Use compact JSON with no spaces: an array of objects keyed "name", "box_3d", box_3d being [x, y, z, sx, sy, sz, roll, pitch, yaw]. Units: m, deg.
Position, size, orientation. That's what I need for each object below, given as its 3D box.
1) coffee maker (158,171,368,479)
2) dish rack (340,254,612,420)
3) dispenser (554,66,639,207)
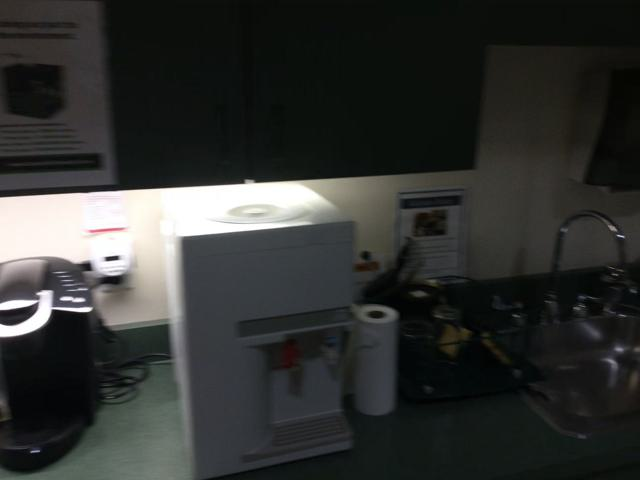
[{"name":"coffee maker","box_3d":[-0.140,0.130,1.150,0.320,0.450,0.430,-4,18,-16]},{"name":"dish rack","box_3d":[0.340,0.200,1.380,0.480,0.190,0.390,-4,18,-16]},{"name":"dispenser","box_3d":[0.850,-0.280,1.500,0.320,0.320,0.260,-4,18,-16]}]
